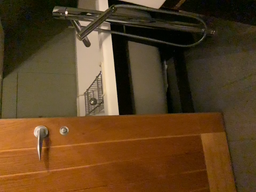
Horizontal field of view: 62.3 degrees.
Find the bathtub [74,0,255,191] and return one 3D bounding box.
[{"bbox_3d":[0.120,-0.080,1.410,0.790,0.740,1.780,149,118,-62],"label":"bathtub"}]
